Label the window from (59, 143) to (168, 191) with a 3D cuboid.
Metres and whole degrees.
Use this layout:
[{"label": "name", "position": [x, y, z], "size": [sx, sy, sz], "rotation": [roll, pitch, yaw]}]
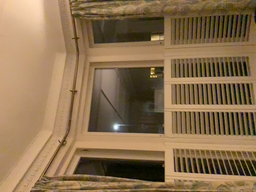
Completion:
[{"label": "window", "position": [-0.100, 0.760, 2.190], "size": [0.570, 0.990, 0.220], "rotation": [-69, -23, -65]}]
